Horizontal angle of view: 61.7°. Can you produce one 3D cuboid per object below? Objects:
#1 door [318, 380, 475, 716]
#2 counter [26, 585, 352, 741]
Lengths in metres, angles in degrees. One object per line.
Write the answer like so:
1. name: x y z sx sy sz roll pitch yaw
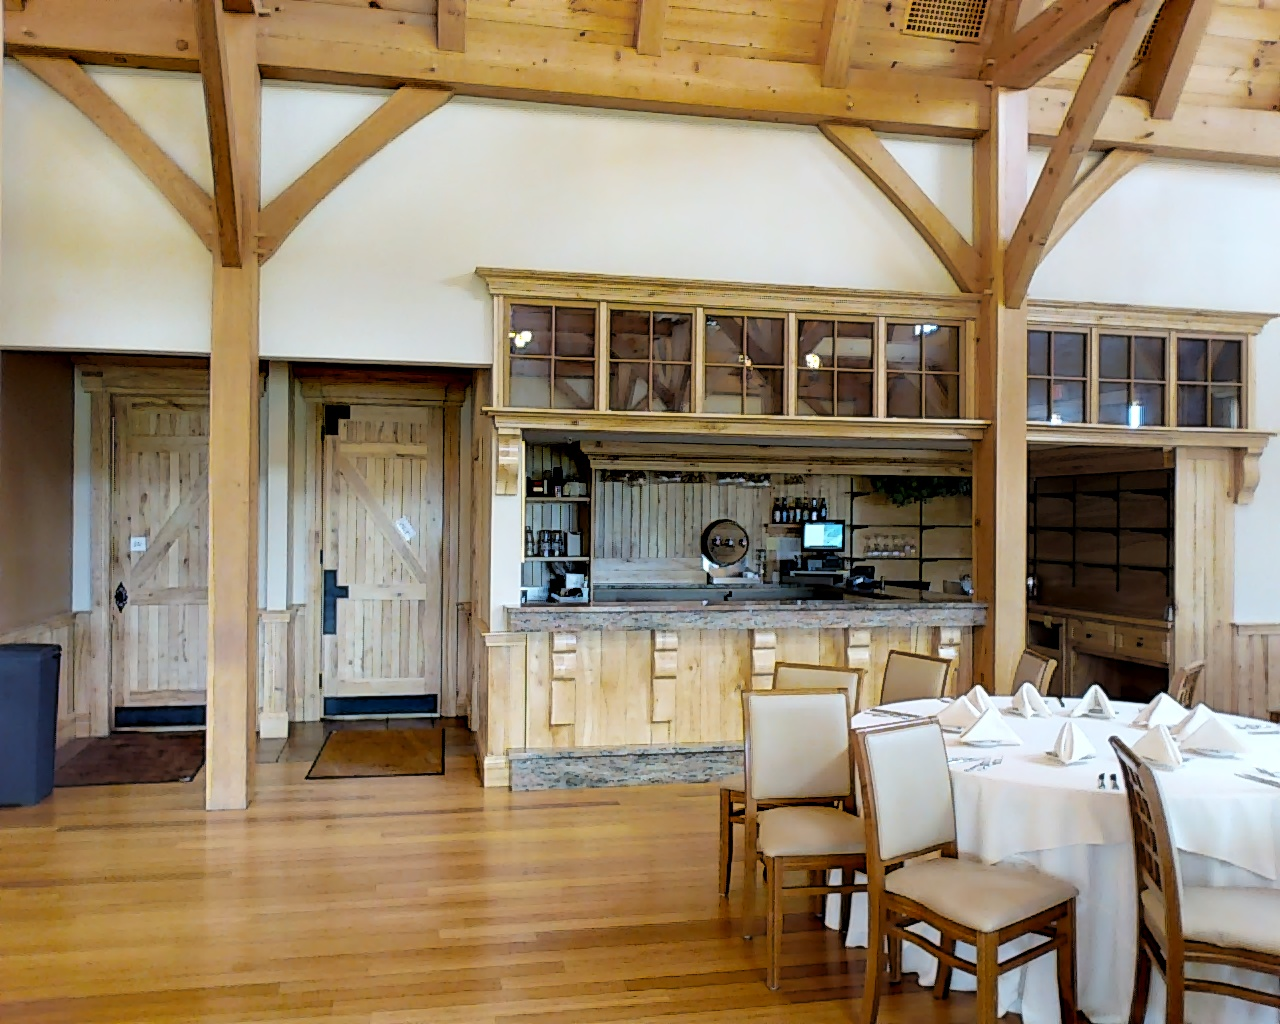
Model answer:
1. door: -1.910 0.280 8.430 1.170 2.590 0.100 1 0 -12
2. counter: -3.210 1.060 7.850 2.070 0.990 0.830 1 0 -12
